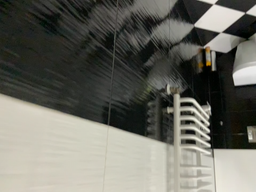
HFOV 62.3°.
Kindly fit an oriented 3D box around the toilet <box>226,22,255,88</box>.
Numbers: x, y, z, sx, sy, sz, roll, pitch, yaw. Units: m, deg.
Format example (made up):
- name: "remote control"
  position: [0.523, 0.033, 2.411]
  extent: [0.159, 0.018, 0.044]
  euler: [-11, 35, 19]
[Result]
- name: "toilet"
  position: [1.250, -0.400, 2.200]
  extent: [0.350, 0.470, 0.520]
  euler: [-6, 161, 29]
